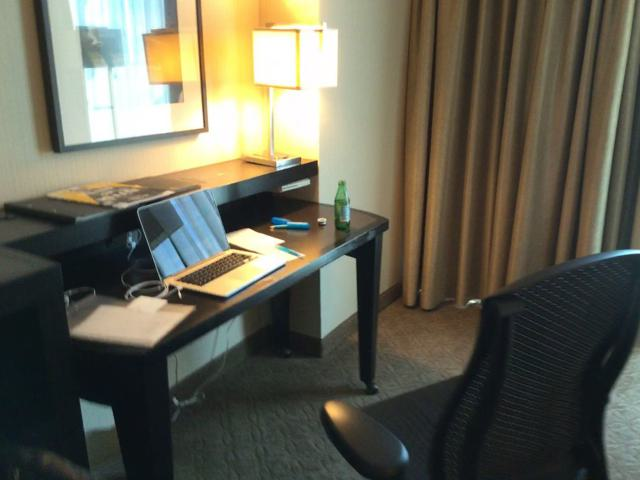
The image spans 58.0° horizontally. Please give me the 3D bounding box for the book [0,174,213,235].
[{"bbox_3d":[-0.610,-0.120,1.720,0.310,0.080,0.520,9,15,29],"label":"book"}]

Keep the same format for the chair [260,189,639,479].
[{"bbox_3d":[0.350,0.460,1.400,0.720,1.040,0.700,-8,17,-38],"label":"chair"}]
